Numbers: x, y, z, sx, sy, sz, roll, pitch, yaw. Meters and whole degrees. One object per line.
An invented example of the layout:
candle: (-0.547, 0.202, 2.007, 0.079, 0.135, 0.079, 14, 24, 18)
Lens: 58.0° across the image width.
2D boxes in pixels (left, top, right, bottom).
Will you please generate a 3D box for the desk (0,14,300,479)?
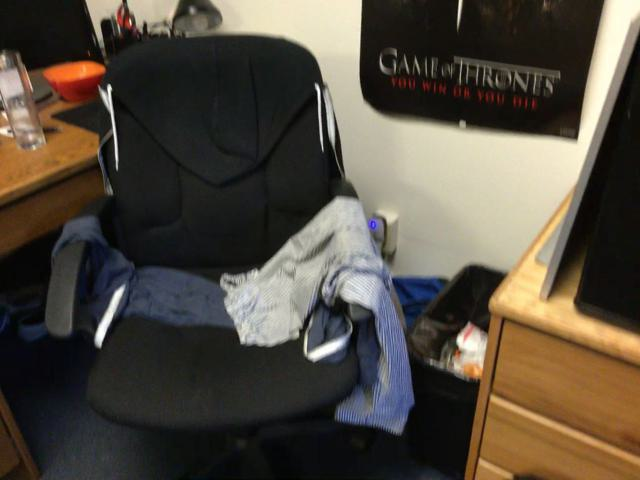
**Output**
desk: (-0.850, -0.010, 1.630, 0.810, 0.890, 1.520, 18, 36, 30)
